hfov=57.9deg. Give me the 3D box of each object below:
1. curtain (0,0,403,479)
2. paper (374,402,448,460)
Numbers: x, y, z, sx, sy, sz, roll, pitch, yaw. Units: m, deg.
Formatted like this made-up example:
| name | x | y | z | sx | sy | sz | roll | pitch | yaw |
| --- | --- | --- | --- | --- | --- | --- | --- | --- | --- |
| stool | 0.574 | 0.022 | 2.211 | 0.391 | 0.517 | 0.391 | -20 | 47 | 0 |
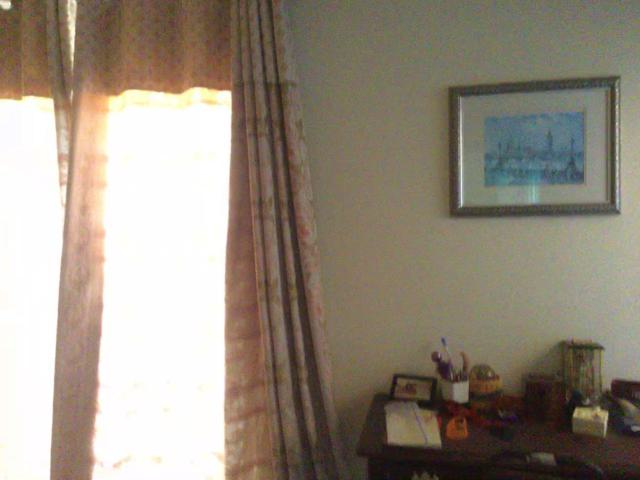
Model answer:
| name | x | y | z | sx | sy | sz | roll | pitch | yaw |
| --- | --- | --- | --- | --- | --- | --- | --- | --- | --- |
| curtain | -0.740 | 0.170 | 2.150 | 2.030 | 2.300 | 0.460 | -1 | 3 | 12 |
| paper | 0.290 | 0.590 | 1.810 | 0.210 | 0.060 | 0.300 | -1 | 3 | 12 |
